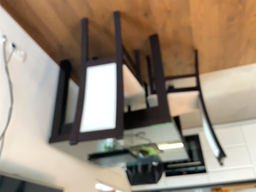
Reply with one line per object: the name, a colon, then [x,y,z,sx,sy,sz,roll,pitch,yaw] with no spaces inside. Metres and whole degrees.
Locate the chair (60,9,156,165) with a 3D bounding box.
chair: [-0.100,-0.050,1.560,0.440,0.930,0.580,-9,149,10]
